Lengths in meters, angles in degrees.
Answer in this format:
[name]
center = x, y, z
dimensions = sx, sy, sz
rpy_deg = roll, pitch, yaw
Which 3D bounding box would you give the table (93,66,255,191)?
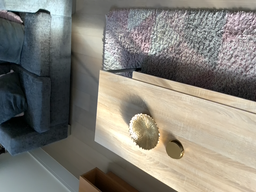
[table]
center = 0.300, 0.190, 1.270
dimensions = 1.000, 0.430, 0.530
rpy_deg = 20, 111, 37

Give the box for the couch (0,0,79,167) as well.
[couch]
center = -1.140, -0.300, 2.220
dimensions = 0.960, 0.720, 1.580
rpy_deg = 20, 111, 37

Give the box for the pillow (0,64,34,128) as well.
[pillow]
center = -1.220, 0.010, 2.100
dimensions = 0.160, 0.380, 0.500
rpy_deg = -6, 60, 30
